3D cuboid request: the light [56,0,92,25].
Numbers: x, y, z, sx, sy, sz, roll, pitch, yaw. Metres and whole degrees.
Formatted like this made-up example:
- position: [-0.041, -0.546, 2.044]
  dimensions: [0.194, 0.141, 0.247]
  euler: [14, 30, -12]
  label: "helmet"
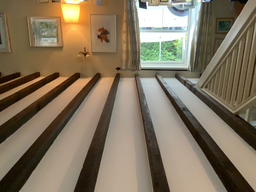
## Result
- position: [-0.950, -1.610, 3.750]
  dimensions: [0.540, 0.640, 0.290]
  euler: [3, -164, 8]
  label: "light"
